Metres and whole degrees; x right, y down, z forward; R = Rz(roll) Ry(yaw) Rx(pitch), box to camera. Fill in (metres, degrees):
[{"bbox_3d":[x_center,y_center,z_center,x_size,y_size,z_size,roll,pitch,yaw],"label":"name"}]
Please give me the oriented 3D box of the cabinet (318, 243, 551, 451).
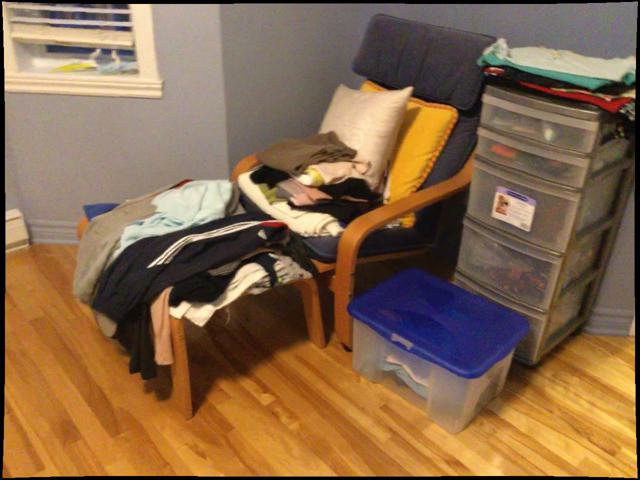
[{"bbox_3d":[0.330,0.290,1.800,0.410,0.250,0.560,-21,36,-33],"label":"cabinet"}]
